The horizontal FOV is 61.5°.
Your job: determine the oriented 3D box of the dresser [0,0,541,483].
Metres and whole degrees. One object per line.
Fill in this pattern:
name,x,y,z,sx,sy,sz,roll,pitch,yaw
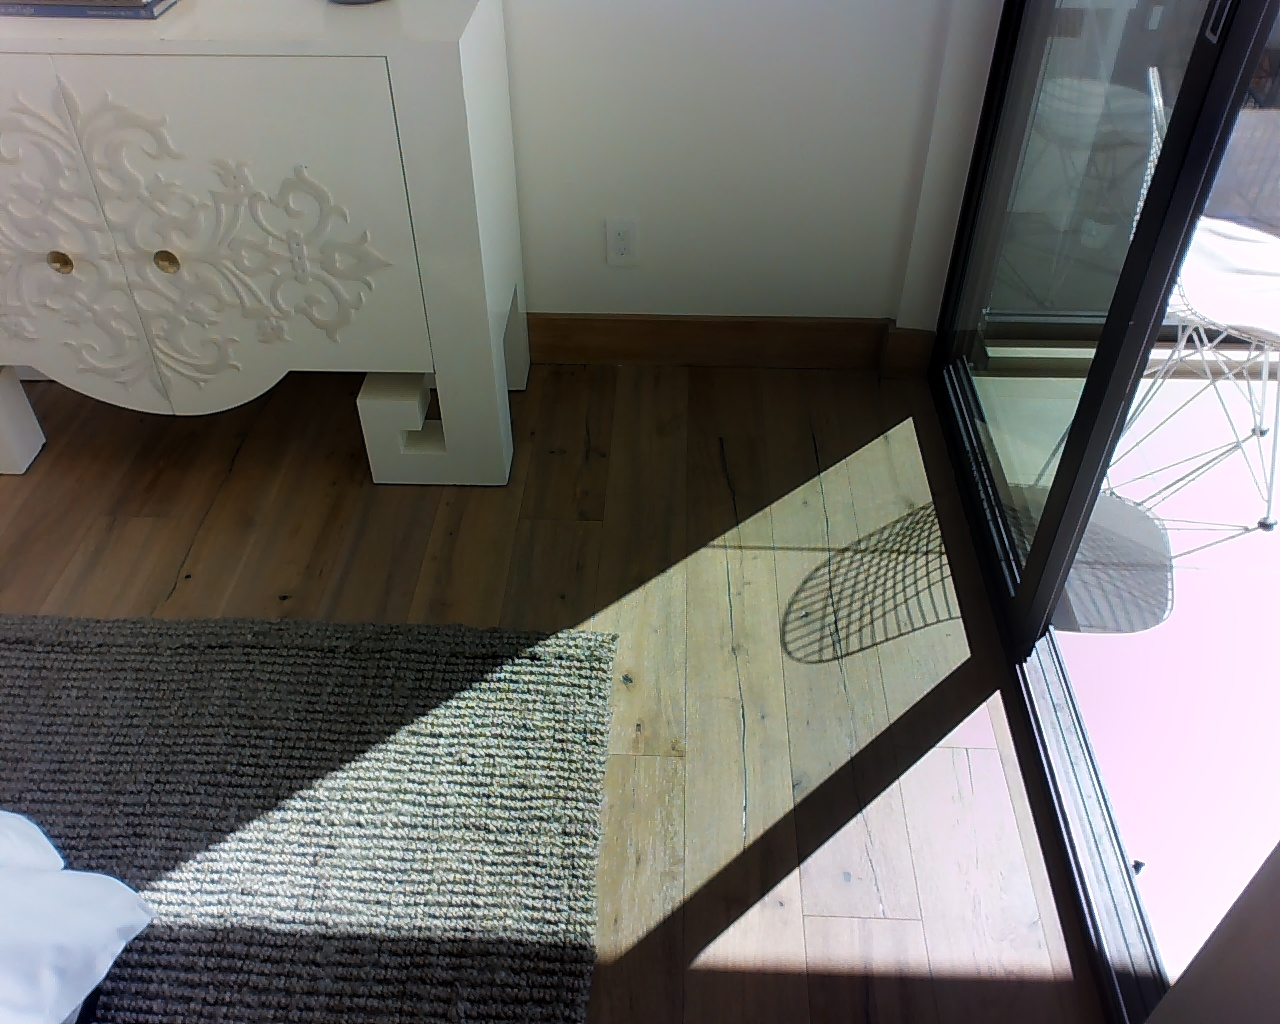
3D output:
dresser,-1.020,-0.640,2.320,1.500,1.000,0.560,1,42,1
